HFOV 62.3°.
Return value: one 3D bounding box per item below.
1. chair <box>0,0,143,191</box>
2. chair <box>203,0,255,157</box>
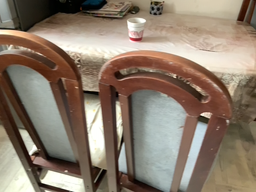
[{"bbox_3d":[-0.240,0.100,1.030,0.480,0.990,0.560,8,37,7],"label":"chair"},{"bbox_3d":[0.880,-0.160,1.420,0.430,1.020,0.570,8,37,8],"label":"chair"}]
